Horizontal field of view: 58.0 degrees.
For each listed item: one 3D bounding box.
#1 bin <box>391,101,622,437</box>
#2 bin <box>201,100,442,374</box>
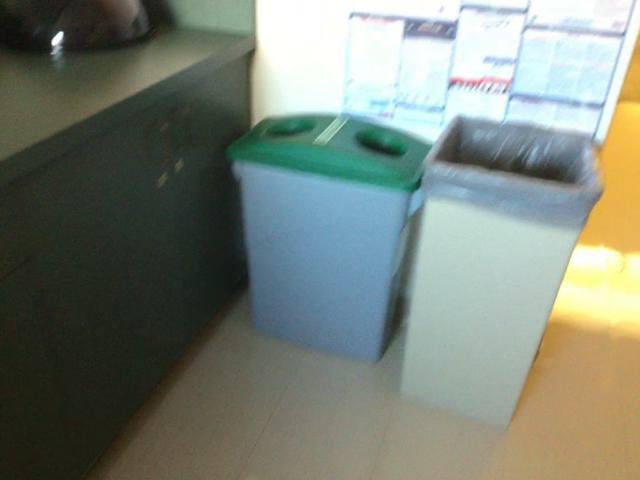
[{"bbox_3d":[0.450,0.070,1.520,0.420,0.720,0.410,9,35,16],"label":"bin"},{"bbox_3d":[0.020,-0.010,1.670,0.560,0.670,0.280,9,35,16],"label":"bin"}]
